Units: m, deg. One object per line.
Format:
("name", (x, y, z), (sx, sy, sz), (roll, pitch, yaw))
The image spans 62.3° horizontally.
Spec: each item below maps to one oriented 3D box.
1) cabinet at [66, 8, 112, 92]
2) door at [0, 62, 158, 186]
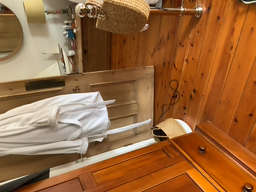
("cabinet", (-0.590, -0.700, 3.190), (0.560, 0.470, 1.080), (43, 136, 49))
("door", (-0.570, 0.220, 1.900), (0.110, 1.970, 0.840), (28, 124, 57))
